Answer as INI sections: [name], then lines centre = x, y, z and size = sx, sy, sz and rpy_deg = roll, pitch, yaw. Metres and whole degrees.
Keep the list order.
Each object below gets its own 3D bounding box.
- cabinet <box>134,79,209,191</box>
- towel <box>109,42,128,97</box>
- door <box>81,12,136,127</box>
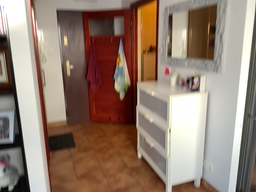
[cabinet]
centre = 0.420, 0.370, 2.440
size = 0.430, 0.990, 0.880
rpy_deg = -5, 15, -18
[towel]
centre = -0.160, -0.470, 3.740
size = 0.280, 0.940, 0.150
rpy_deg = 4, 15, 19
[door]
centre = -0.330, -0.420, 3.840
size = 0.930, 2.020, 0.100
rpy_deg = 2, 14, 10
